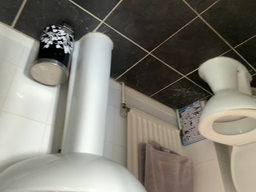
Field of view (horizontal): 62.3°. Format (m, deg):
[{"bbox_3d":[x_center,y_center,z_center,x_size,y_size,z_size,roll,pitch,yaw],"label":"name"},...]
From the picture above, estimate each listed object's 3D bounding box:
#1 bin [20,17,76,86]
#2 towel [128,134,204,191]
[{"bbox_3d":[-0.400,-0.220,1.080,0.190,0.240,0.170,19,142,-28],"label":"bin"},{"bbox_3d":[0.250,0.560,1.280,0.530,0.510,0.150,26,139,-35],"label":"towel"}]
